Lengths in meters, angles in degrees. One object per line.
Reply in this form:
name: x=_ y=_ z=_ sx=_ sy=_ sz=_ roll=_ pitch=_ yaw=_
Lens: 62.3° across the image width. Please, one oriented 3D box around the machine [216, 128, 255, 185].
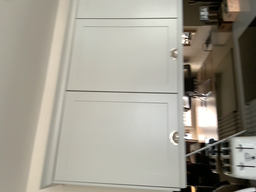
machine: x=0.780 y=0.420 z=1.500 sx=0.340 sy=0.170 sz=0.340 roll=77 pitch=-165 yaw=-75
